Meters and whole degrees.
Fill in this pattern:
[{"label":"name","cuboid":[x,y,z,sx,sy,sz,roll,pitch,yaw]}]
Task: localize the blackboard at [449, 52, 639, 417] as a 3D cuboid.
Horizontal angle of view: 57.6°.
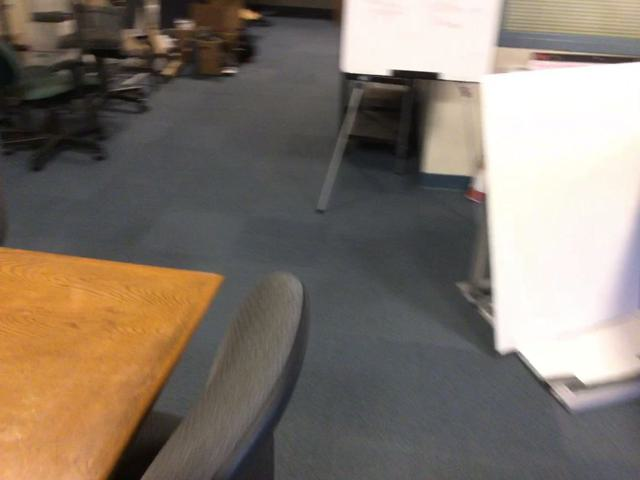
[{"label":"blackboard","cuboid":[1.000,-0.070,2.040,0.840,1.020,0.640,-8,25,-10]}]
